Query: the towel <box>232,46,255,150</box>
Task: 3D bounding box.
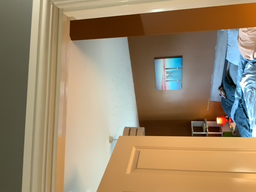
[{"bbox_3d":[1.560,0.030,2.680,0.630,0.140,1.140,70,-159,-61],"label":"towel"}]
